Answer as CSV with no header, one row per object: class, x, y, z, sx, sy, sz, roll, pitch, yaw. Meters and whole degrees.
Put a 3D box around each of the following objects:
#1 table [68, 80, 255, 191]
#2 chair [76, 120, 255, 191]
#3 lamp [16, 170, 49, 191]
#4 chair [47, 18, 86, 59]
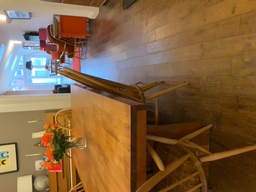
table,-0.020,0.410,1.980,1.950,0.770,1.010,-164,72,-67
chair,0.250,0.500,1.110,0.550,0.930,0.530,-157,66,-66
lamp,-1.680,1.550,3.750,0.190,0.510,0.340,-161,70,-66
chair,-1.690,-1.540,5.750,0.750,0.880,0.690,113,146,-47
